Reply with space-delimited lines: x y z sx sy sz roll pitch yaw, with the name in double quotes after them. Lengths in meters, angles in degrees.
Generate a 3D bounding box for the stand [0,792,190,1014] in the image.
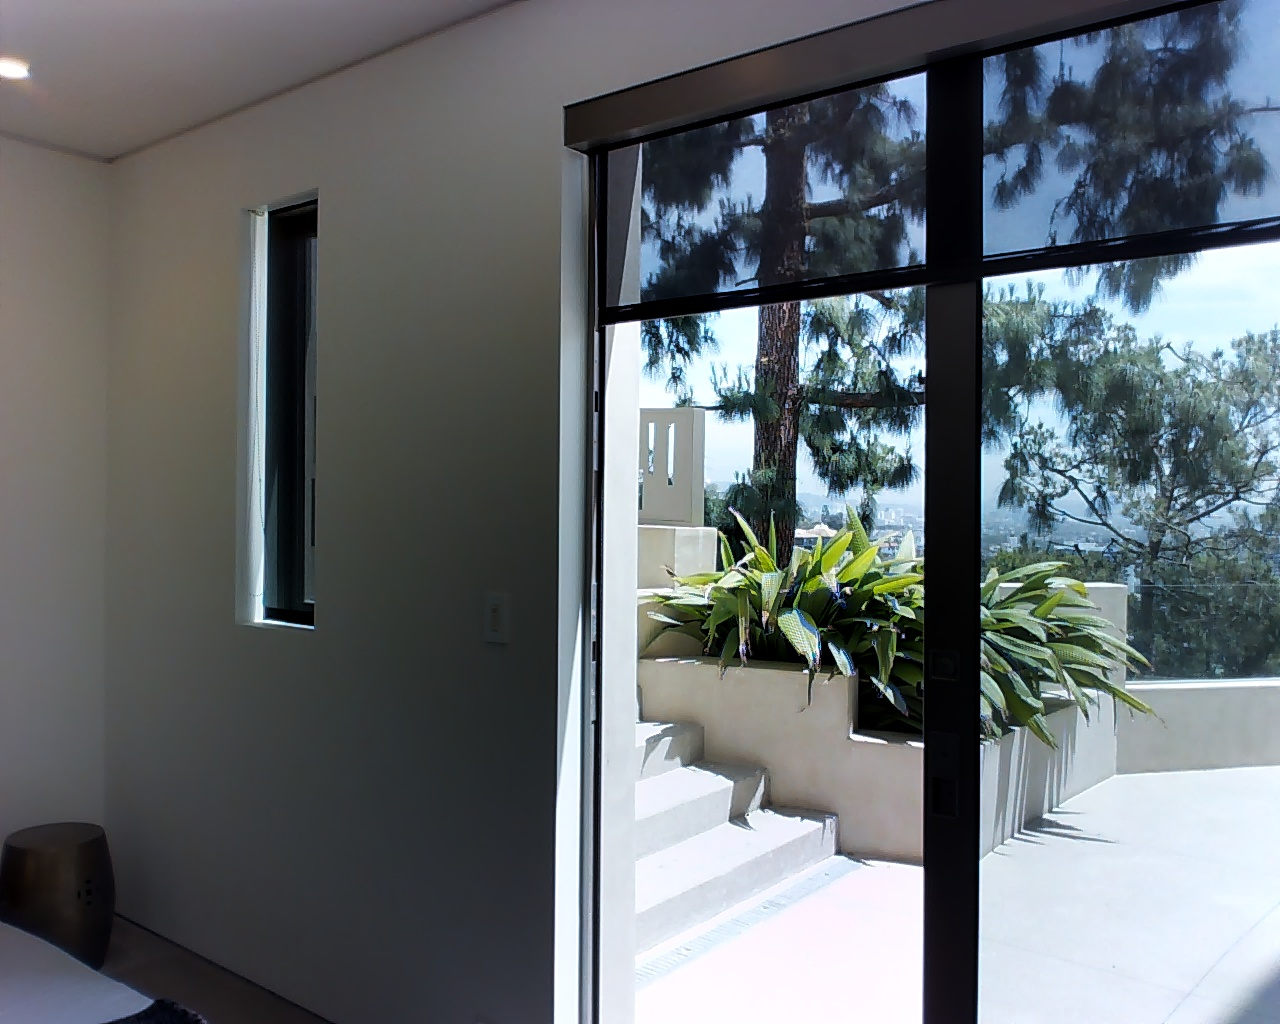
-1.910 1.250 3.550 0.570 0.440 0.560 1 0 34 "stand"
